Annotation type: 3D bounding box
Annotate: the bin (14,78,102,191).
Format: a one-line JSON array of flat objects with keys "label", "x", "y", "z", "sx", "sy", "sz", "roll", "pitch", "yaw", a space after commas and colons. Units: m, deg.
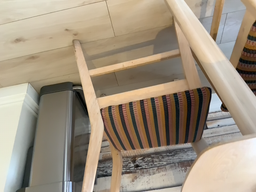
[{"label": "bin", "x": -0.350, "y": 0.310, "z": 1.240, "sx": 0.280, "sy": 0.650, "sz": 0.450, "roll": -10, "pitch": 144, "yaw": 3}]
